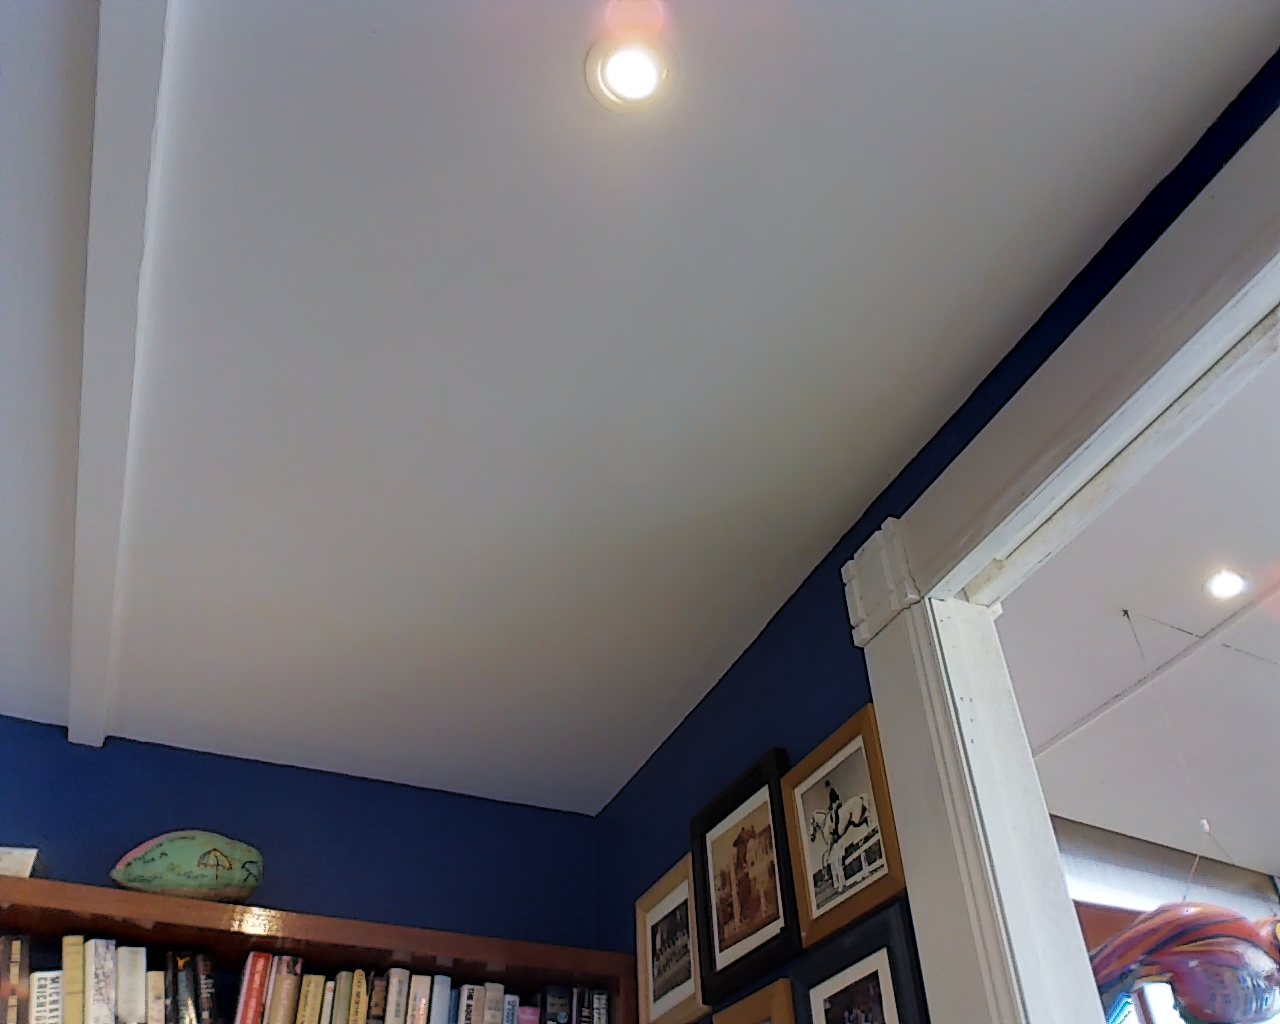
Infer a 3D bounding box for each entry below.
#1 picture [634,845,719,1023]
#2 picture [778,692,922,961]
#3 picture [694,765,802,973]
[{"bbox_3d":[0.060,0.800,1.960,0.040,0.280,0.280,14,-43,-17],"label":"picture"},{"bbox_3d":[0.290,0.450,1.540,0.040,0.300,0.240,16,-43,-19],"label":"picture"},{"bbox_3d":[0.170,0.590,1.770,0.040,0.250,0.250,13,-42,-19],"label":"picture"}]
